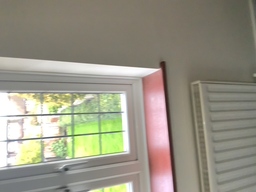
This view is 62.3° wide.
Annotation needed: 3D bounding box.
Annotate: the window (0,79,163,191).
[{"bbox_3d":[-0.300,0.400,1.050,0.080,1.060,0.950,-18,74,63],"label":"window"}]
